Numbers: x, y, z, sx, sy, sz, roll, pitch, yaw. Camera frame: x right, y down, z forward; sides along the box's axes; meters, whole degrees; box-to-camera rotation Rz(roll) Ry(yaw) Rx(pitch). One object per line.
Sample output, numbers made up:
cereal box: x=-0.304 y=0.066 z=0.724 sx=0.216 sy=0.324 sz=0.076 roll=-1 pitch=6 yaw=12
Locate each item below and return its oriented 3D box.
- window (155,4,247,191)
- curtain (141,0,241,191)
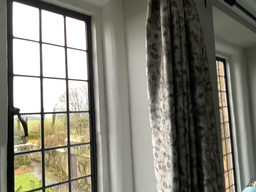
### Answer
window: x=0.790 y=0.170 z=2.110 sx=1.250 sy=1.830 sz=0.120 roll=1 pitch=-6 yaw=-41
curtain: x=0.300 y=0.460 z=0.890 sx=0.350 sy=2.330 sz=0.200 roll=0 pitch=-5 yaw=-40
